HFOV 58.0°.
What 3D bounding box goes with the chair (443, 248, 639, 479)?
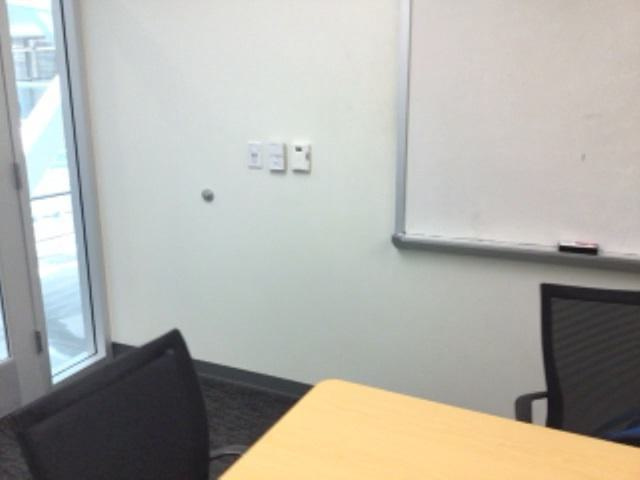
[{"bbox_3d":[0.740,0.570,1.450,0.670,0.890,0.620,10,18,31],"label":"chair"}]
